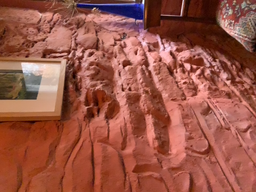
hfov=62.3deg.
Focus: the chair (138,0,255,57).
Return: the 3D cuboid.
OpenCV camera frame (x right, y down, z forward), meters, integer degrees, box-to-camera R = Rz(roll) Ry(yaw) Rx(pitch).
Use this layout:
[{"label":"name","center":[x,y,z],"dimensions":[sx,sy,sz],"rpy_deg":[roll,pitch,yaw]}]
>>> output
[{"label":"chair","center":[0.560,-0.530,1.100],"dimensions":[0.560,0.860,0.490],"rpy_deg":[-109,22,-59]}]
